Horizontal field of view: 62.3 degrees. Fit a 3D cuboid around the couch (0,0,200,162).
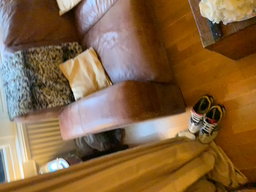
[{"bbox_3d":[-0.370,-0.500,1.580,1.040,0.780,1.620,-26,75,37],"label":"couch"}]
